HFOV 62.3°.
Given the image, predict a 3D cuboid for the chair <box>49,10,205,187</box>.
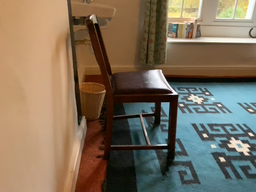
[{"bbox_3d":[-0.030,-0.020,1.140,0.560,0.790,0.490,-2,25,-7],"label":"chair"}]
